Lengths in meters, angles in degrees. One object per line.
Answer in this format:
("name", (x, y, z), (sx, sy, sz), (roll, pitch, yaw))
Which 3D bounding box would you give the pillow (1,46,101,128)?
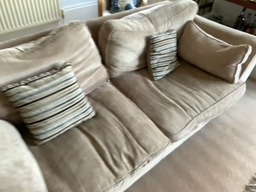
("pillow", (-0.410, -0.020, 1.200), (0.130, 0.400, 0.360), (38, 97, 31))

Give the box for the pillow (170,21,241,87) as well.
("pillow", (0.620, -0.360, 1.790), (0.140, 0.310, 0.560), (-40, 57, -13))
